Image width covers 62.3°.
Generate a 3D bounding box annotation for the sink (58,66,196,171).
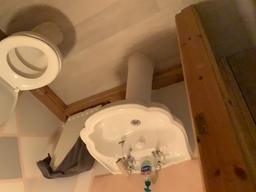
[{"bbox_3d":[0.010,0.170,1.210,0.590,0.210,0.470,-18,128,22],"label":"sink"}]
